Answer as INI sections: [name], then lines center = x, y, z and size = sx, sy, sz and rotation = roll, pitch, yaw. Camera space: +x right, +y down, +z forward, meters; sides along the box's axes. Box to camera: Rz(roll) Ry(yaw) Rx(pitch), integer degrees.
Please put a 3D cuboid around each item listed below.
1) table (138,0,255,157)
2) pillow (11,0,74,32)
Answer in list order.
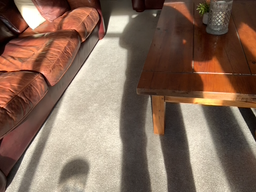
[table]
center = 0.620, -0.310, 1.600
size = 0.810, 0.470, 1.410
rotation = 4, 42, 14
[pillow]
center = -0.870, -0.980, 2.120
size = 0.230, 0.460, 0.450
rotation = -22, 29, 32
